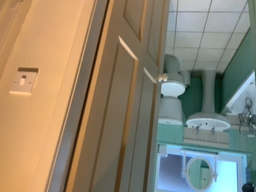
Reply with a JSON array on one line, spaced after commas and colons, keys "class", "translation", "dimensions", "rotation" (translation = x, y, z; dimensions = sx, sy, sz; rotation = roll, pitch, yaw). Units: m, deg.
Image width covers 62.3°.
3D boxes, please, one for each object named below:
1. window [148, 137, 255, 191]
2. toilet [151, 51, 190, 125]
[{"class": "window", "translation": [0.990, 1.260, 2.960], "dimensions": [1.370, 1.150, 0.290], "rotation": [5, 159, 12]}, {"class": "toilet", "translation": [0.610, -0.090, 3.040], "dimensions": [0.430, 0.820, 0.680], "rotation": [5, 158, 11]}]
